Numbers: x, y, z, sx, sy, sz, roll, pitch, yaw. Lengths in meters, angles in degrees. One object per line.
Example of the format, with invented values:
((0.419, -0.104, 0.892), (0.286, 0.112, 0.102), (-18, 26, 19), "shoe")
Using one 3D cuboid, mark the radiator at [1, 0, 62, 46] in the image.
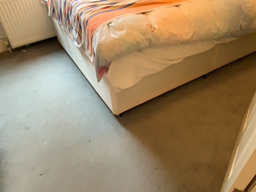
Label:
((-1.010, -0.860, 2.240), (0.460, 0.530, 0.140), (-22, 46, -20), "radiator")
